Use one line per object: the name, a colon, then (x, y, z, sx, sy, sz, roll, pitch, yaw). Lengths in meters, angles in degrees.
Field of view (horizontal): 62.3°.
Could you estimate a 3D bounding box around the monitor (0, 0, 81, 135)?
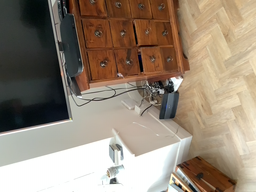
monitor: (-0.650, -0.300, 1.180, 0.060, 0.620, 0.980, -12, 88, 58)
